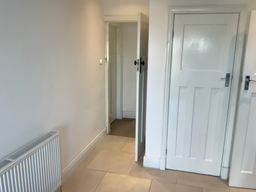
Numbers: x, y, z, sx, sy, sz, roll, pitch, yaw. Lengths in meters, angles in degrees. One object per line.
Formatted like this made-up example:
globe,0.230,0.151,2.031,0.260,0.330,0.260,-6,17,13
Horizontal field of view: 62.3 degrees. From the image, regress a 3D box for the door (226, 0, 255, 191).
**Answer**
door,1.540,0.110,2.240,0.680,2.100,0.060,4,13,10
